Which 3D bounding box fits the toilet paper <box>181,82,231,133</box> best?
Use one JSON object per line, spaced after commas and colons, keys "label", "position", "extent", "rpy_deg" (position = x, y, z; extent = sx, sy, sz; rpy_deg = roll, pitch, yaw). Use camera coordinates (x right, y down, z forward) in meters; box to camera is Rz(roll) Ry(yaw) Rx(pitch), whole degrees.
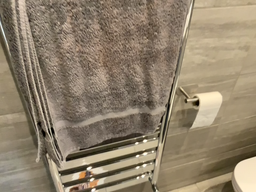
{"label": "toilet paper", "position": [0.330, 0.050, 0.920], "extent": [0.130, 0.180, 0.100], "rpy_deg": [-10, 40, -15]}
